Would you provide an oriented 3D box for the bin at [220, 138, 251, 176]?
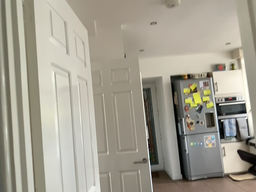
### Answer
[{"bbox_3d":[2.090,1.170,4.140,0.370,0.620,0.330,-4,-3,-11],"label":"bin"}]
